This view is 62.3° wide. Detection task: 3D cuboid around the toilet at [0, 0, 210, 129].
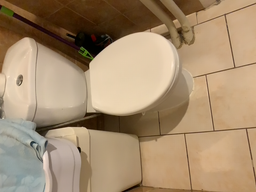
[{"bbox_3d":[-0.100,-0.070,1.050,0.750,0.740,0.410,-10,76,34],"label":"toilet"}]
